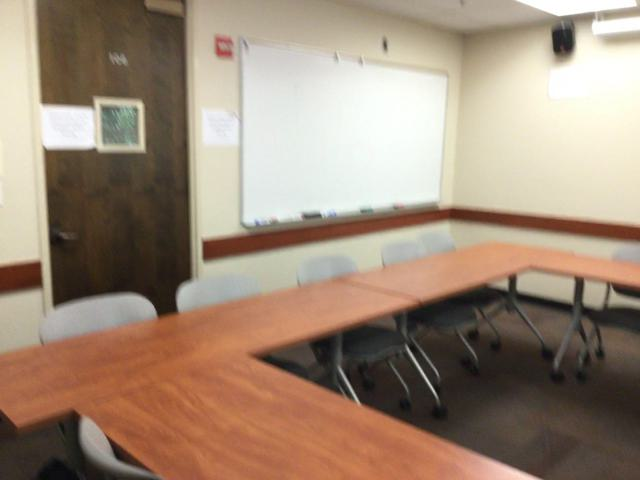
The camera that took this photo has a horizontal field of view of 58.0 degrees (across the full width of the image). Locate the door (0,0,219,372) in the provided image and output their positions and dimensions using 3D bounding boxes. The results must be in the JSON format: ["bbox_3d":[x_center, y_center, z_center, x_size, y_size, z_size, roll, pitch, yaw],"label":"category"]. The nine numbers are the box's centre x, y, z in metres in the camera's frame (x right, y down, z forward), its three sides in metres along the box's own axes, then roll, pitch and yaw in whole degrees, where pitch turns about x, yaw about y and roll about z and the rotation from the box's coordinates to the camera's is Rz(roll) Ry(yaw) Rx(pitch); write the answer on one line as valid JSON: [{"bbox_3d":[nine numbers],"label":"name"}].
[{"bbox_3d":[-1.110,-0.390,3.170,0.160,2.010,0.890,8,20,44],"label":"door"}]
